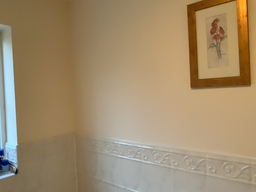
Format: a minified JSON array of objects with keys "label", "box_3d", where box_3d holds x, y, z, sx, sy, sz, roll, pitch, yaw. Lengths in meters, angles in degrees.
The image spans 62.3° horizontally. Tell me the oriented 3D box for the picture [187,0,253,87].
[{"label":"picture","box_3d":[0.430,-0.270,1.020,0.280,0.440,0.030,-1,1,41]}]
